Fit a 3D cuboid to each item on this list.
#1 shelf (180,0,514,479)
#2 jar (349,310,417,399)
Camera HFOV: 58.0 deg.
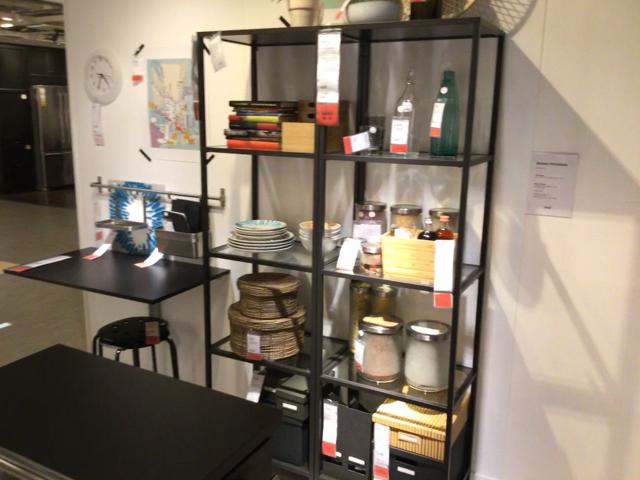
[{"bbox_3d":[0.070,0.050,2.160,1.070,1.890,0.420,7,14,30],"label":"shelf"},{"bbox_3d":[0.230,0.410,2.110,0.180,0.240,0.190,7,14,30],"label":"jar"}]
